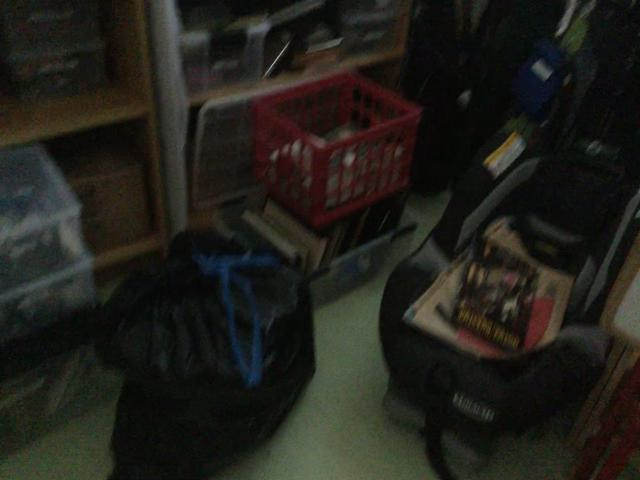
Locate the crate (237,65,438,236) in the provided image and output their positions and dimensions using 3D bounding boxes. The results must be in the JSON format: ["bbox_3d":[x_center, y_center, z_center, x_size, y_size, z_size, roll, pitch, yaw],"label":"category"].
[{"bbox_3d":[0.040,-0.290,1.730,0.420,0.280,0.390,-23,44,-31],"label":"crate"}]
